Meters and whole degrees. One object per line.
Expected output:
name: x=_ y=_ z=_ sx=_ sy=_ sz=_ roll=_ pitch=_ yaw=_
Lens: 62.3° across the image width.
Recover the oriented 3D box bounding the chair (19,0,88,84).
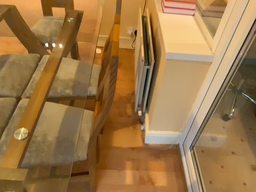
chair: x=-0.610 y=-0.680 z=1.910 sx=0.400 sy=1.030 sz=0.550 roll=1 pitch=45 yaw=-6
